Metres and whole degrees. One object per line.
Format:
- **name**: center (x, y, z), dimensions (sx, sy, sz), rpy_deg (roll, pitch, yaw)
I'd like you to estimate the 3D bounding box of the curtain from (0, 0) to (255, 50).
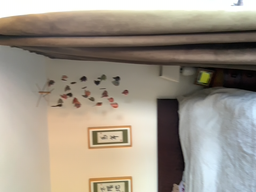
- **curtain**: center (0.440, -0.440, 1.330), dimensions (0.500, 2.360, 0.240), rpy_deg (-122, 32, -82)
